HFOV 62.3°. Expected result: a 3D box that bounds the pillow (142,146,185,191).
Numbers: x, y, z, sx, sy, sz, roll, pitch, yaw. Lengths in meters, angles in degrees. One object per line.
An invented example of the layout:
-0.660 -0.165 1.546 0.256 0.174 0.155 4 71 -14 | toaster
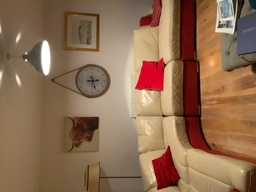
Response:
0.490 0.970 2.920 0.550 0.370 0.120 -52 -57 -34 | pillow

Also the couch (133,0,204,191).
0.560 -0.050 3.490 1.100 0.790 3.550 150 121 -81 | couch

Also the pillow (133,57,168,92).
0.370 -0.340 3.530 0.230 0.530 0.520 0 -91 -57 | pillow

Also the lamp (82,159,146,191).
-0.240 1.310 3.580 0.490 1.010 0.360 150 121 -81 | lamp
